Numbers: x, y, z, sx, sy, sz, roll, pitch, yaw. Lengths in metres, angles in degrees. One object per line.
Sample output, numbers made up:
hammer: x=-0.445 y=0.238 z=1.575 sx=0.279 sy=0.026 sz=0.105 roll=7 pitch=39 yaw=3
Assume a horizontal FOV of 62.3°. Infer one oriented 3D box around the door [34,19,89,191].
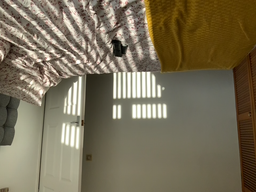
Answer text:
door: x=-0.780 y=0.310 z=2.410 sx=0.110 sy=2.150 sz=0.910 roll=9 pitch=166 yaw=-44
